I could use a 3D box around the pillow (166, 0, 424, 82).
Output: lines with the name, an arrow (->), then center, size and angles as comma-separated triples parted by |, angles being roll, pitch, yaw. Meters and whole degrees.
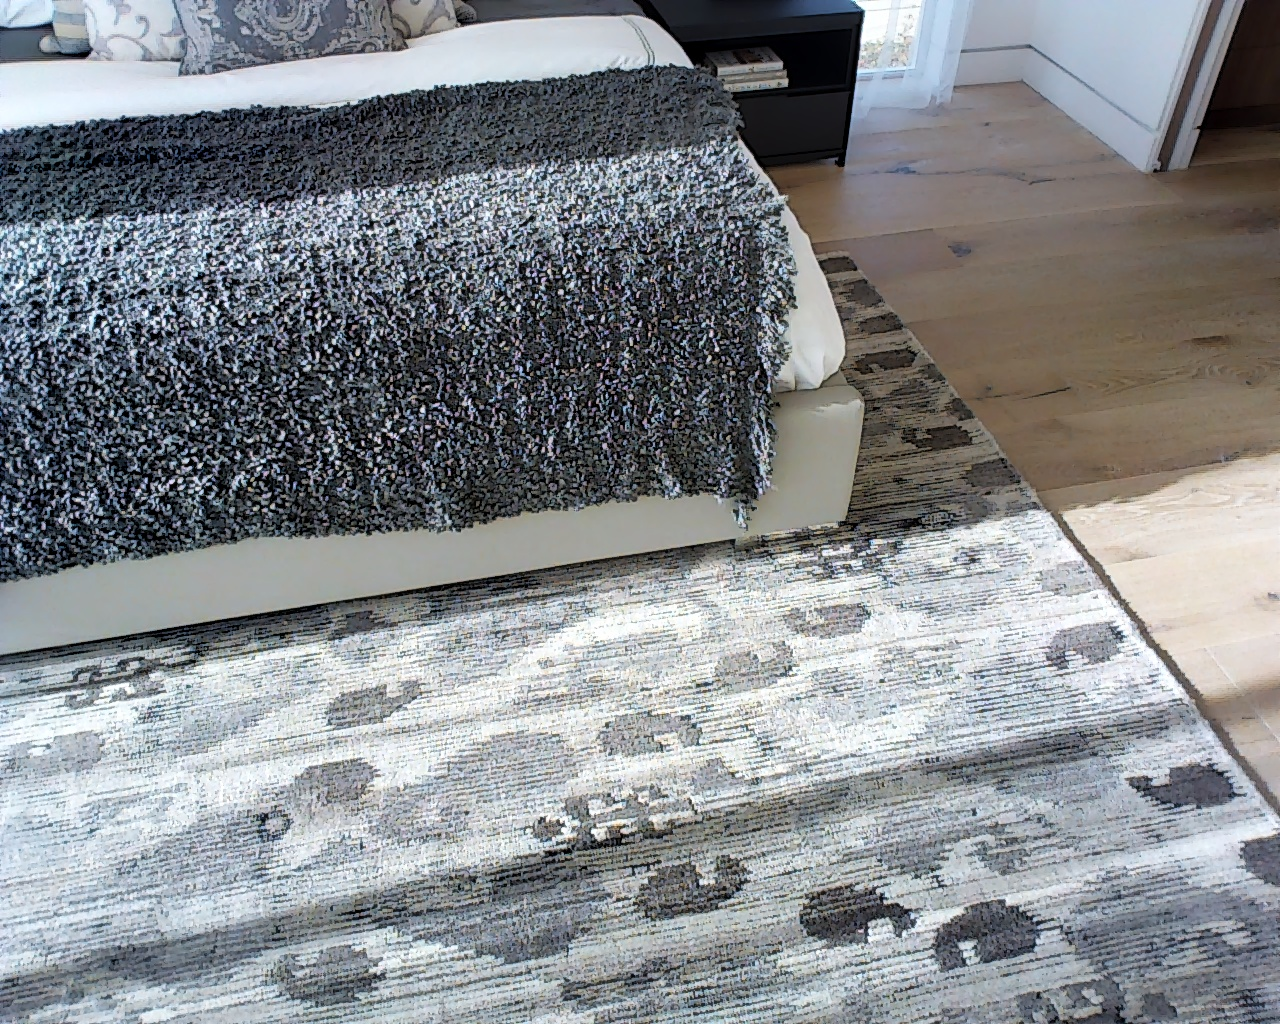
pillow -> -0.810, -1.210, 2.530 | 0.540, 0.260, 0.220 | -11, 43, -11
